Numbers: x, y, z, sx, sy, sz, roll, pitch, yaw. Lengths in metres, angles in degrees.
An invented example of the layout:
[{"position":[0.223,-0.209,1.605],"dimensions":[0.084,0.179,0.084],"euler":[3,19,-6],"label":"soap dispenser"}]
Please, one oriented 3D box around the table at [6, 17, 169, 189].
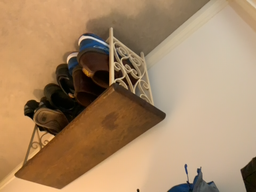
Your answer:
[{"position":[-0.230,0.070,1.060],"dimensions":[0.270,0.460,0.770],"euler":[33,123,-32],"label":"table"}]
